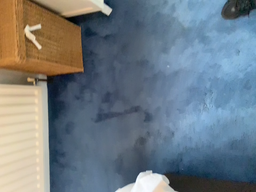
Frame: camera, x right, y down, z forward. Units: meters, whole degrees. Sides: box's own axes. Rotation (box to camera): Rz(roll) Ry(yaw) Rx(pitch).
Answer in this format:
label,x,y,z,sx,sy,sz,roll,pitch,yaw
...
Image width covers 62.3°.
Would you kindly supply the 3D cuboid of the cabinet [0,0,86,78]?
label,x,y,z,sx,sy,sz,roll,pitch,yaw
cabinet,-0.510,-0.290,1.180,0.290,0.510,0.320,-4,89,23
